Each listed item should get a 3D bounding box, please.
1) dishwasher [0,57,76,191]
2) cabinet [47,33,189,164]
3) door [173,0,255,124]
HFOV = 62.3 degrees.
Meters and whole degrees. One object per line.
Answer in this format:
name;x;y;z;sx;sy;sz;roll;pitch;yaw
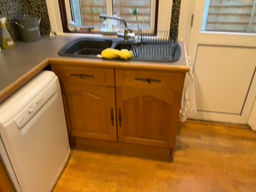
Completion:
dishwasher;-0.880;0.280;1.530;0.700;0.930;0.620;4;32;8
cabinet;-0.040;0.000;1.960;0.980;0.960;0.630;4;32;8
door;0.870;-0.670;1.800;0.720;2.220;0.050;4;32;7
